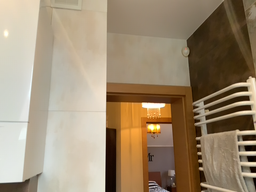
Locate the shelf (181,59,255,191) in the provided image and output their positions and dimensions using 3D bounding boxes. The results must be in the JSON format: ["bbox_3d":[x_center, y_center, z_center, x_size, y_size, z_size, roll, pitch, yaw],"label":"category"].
[{"bbox_3d":[0.580,0.430,1.330,0.190,1.120,0.670,1,-14,-6],"label":"shelf"}]
